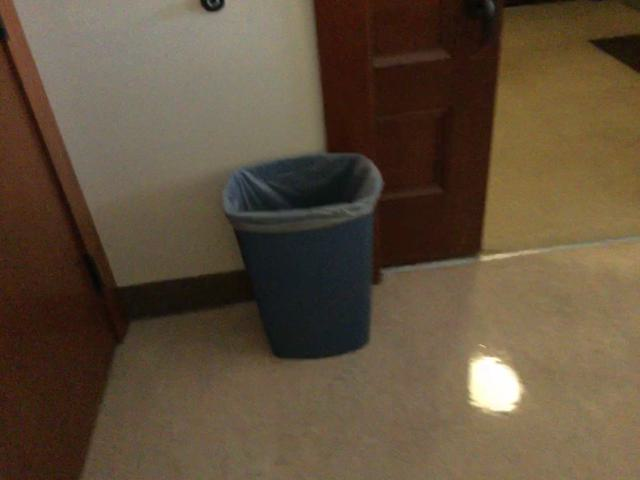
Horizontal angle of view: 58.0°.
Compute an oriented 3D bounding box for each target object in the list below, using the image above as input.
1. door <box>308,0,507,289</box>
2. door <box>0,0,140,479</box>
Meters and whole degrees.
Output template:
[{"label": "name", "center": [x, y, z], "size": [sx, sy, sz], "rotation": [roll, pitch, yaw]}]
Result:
[{"label": "door", "center": [0.250, -0.560, 1.650], "size": [0.520, 1.560, 0.140], "rotation": [-10, 33, -3]}, {"label": "door", "center": [-0.700, -0.150, 1.240], "size": [0.110, 1.620, 0.760], "rotation": [-13, 32, -6]}]
